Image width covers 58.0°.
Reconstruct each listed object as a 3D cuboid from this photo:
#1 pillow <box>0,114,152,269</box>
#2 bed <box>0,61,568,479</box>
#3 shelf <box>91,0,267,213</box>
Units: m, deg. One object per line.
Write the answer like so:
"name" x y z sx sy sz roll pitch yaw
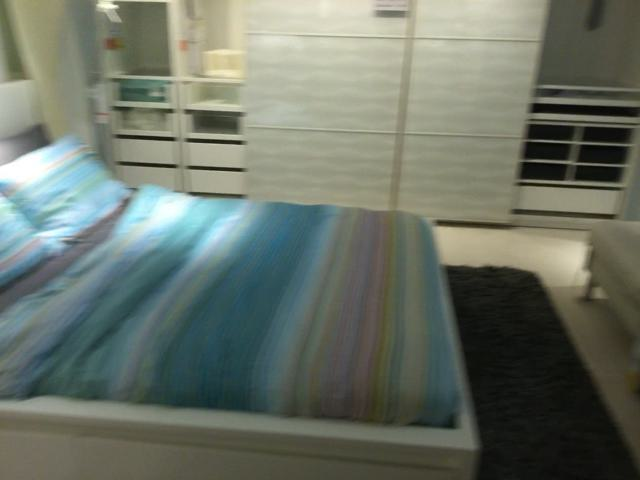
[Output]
"pillow" -1.090 -0.240 2.510 0.430 0.200 0.690 47 23 -13
"bed" -0.550 0.080 2.110 2.210 0.960 1.680 8 26 6
"shelf" -0.870 -1.340 3.700 0.960 2.240 0.480 8 29 7
